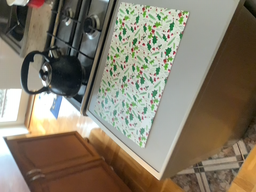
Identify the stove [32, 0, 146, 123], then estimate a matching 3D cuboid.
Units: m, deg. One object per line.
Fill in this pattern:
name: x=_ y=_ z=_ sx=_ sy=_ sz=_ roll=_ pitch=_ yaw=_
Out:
stove: x=-0.240 y=-0.270 z=1.060 sx=0.520 sy=0.170 sz=0.610 roll=33 pitch=113 yaw=38
